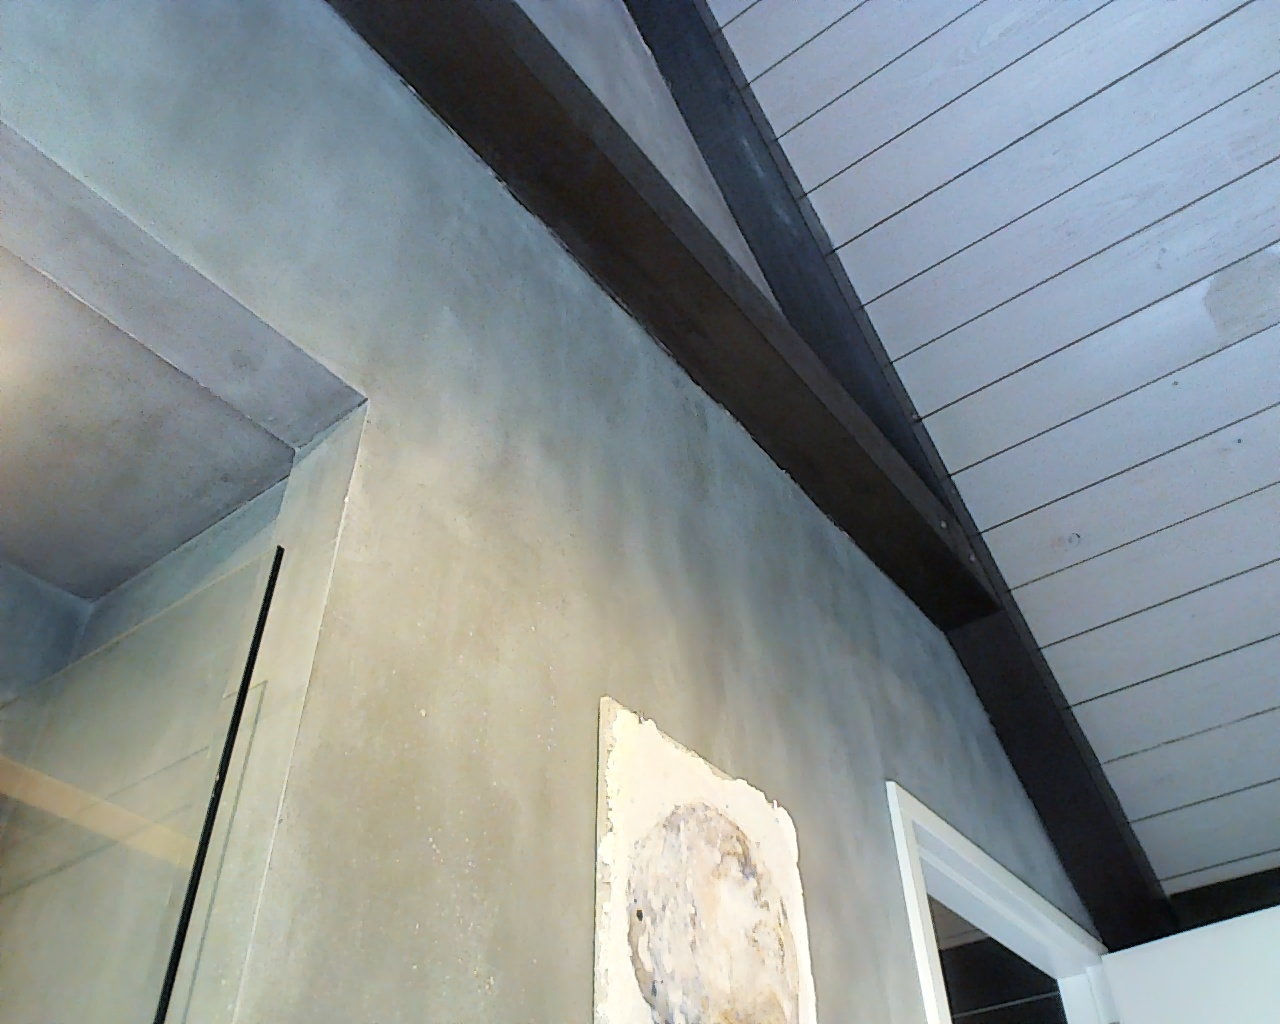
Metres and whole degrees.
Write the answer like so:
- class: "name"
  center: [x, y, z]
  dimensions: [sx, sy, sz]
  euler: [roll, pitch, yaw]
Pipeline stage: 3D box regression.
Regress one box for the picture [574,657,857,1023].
- class: "picture"
  center: [0.100, 0.510, 1.170]
  dimensions: [0.050, 0.580, 0.460]
  euler: [-28, -49, 27]
